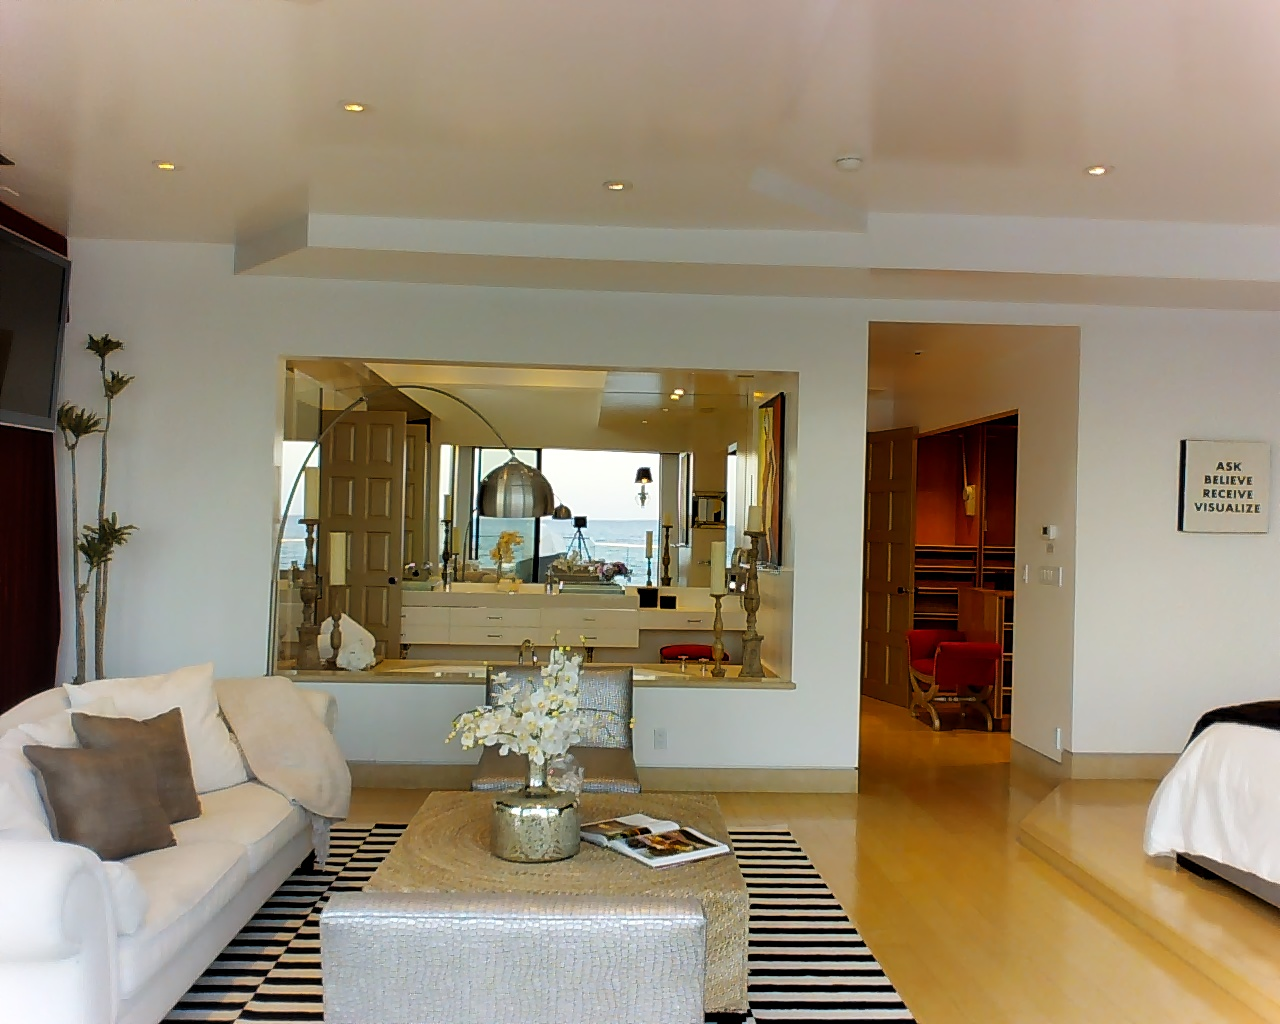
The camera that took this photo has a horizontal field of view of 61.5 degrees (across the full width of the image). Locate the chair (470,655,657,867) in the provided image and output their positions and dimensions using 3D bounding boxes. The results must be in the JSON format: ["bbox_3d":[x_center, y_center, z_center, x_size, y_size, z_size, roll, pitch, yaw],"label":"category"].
[{"bbox_3d":[-0.340,1.090,4.880,0.760,0.770,0.830,1,0,-3],"label":"chair"}]

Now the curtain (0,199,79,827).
[{"bbox_3d":[-3.129,0.020,5.170,0.190,2.971,1.310,1,0,-3],"label":"curtain"}]
